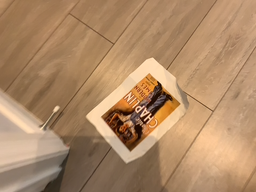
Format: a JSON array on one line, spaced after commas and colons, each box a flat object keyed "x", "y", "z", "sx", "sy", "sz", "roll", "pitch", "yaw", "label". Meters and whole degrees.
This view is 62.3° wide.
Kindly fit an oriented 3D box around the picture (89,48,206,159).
[{"x": 0.060, "y": 0.020, "z": 0.670, "sx": 0.290, "sy": 0.040, "sz": 0.210, "roll": -37, "pitch": 81, "yaw": -5, "label": "picture"}]
